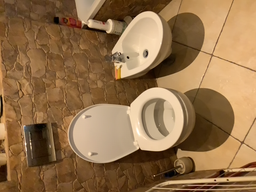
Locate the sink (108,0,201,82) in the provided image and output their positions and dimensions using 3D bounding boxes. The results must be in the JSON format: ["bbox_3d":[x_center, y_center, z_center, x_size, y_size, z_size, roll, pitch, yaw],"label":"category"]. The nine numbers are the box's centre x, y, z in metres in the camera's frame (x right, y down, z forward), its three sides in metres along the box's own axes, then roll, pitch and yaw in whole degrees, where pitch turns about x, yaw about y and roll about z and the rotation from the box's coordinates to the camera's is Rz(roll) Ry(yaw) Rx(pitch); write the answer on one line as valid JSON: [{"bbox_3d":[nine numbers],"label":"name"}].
[{"bbox_3d":[0.160,-0.350,1.510,0.510,0.340,0.330,-30,68,49],"label":"sink"}]

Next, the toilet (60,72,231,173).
[{"bbox_3d":[0.110,0.150,1.270,0.510,0.820,0.380,-30,68,49],"label":"toilet"}]
